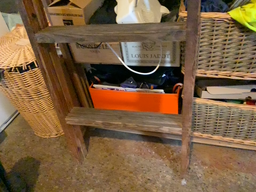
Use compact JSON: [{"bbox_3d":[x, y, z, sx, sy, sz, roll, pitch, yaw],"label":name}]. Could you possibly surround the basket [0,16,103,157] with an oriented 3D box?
[{"bbox_3d":[-0.540,-0.080,1.320,0.450,0.630,0.540,8,42,21],"label":"basket"}]
